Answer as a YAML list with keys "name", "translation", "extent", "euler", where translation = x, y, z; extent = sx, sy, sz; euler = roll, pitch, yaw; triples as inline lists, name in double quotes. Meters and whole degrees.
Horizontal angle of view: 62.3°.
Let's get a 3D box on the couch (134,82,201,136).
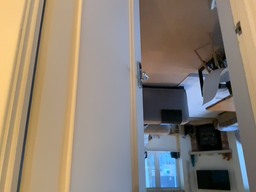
- name: "couch"
  translation: [0.700, 0.340, 4.380]
  extent: [0.980, 0.740, 1.390]
  euler: [1, 161, -6]
